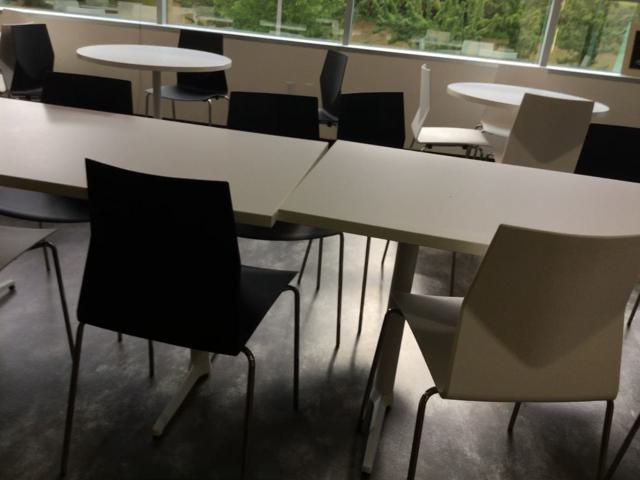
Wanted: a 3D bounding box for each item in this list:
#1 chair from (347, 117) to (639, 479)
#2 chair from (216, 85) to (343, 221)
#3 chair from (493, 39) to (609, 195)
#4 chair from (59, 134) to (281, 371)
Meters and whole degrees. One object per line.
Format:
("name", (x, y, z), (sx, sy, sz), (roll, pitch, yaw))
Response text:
("chair", (0.430, 0.210, 1.410), (0.560, 0.830, 0.590), (10, 26, 11))
("chair", (-0.160, -0.340, 2.230), (0.420, 0.420, 0.220), (10, 26, 11))
("chair", (1.460, -0.820, 3.780), (0.470, 0.840, 0.590), (10, 26, 11))
("chair", (-0.330, 0.020, 1.340), (0.410, 0.430, 0.220), (10, 26, 11))
